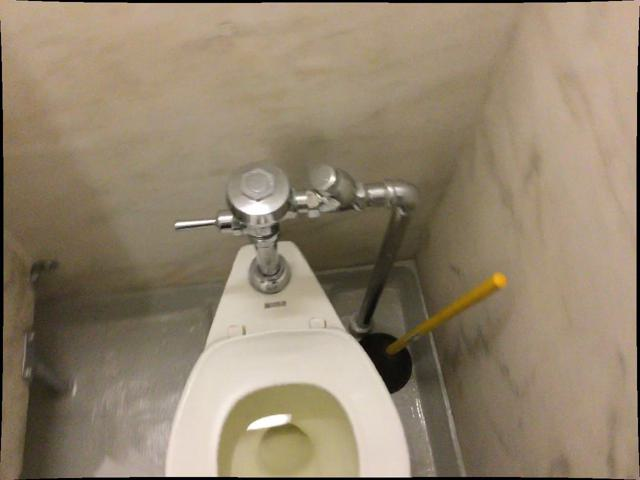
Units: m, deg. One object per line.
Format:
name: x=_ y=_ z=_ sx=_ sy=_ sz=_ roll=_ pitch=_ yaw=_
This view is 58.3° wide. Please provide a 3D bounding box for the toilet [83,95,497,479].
toilet: x=-0.070 y=0.300 z=0.880 sx=0.380 sy=0.680 sz=0.710 roll=-8 pitch=62 yaw=-9
